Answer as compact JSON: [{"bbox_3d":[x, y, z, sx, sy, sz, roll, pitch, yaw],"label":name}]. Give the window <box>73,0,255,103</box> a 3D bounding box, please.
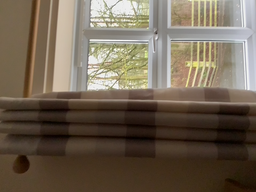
[{"bbox_3d":[0.200,-0.380,1.170,0.060,0.940,0.820,82,-171,-79],"label":"window"}]
